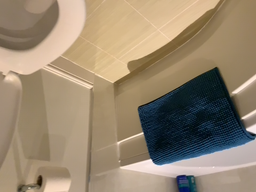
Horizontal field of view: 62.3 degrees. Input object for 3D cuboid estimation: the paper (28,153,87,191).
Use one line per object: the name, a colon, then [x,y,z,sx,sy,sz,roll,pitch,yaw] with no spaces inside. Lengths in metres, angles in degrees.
paper: [-0.280,0.340,0.860,0.130,0.160,0.180,-28,142,35]
